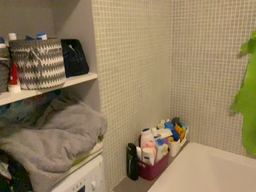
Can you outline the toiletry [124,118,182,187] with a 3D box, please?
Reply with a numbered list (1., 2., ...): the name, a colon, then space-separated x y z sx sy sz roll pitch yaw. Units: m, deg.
1. toiletry: 0.170 0.330 1.340 0.200 0.220 0.380 11 22 33
